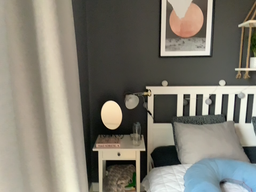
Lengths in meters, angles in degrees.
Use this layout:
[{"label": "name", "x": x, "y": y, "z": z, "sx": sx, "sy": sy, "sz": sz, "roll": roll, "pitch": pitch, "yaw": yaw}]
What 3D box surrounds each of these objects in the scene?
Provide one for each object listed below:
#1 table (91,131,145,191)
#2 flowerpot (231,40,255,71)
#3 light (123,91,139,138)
[{"label": "table", "x": -0.090, "y": 0.750, "z": 2.090, "sx": 0.460, "sy": 0.700, "sz": 0.440, "roll": 0, "pitch": 10, "yaw": -2}, {"label": "flowerpot", "x": 1.150, "y": -0.380, "z": 2.010, "sx": 0.230, "sy": 0.270, "sz": 0.180, "roll": 0, "pitch": 10, "yaw": 2}, {"label": "light", "x": 0.030, "y": 0.180, "z": 2.140, "sx": 0.150, "sy": 0.450, "sz": 0.160, "roll": 0, "pitch": 10, "yaw": -2}]
